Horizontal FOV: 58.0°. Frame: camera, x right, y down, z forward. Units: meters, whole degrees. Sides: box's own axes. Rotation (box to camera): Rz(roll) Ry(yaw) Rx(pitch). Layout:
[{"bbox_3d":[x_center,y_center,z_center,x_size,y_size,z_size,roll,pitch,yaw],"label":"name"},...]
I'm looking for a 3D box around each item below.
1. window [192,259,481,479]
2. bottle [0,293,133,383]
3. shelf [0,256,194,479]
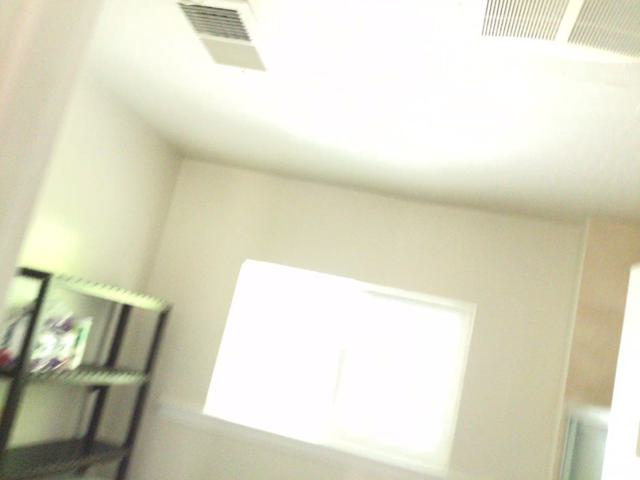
[{"bbox_3d":[0.070,0.480,2.150,0.920,0.640,0.230,9,-13,12],"label":"window"},{"bbox_3d":[-0.740,0.290,1.650,0.180,0.190,0.420,9,-13,12],"label":"bottle"},{"bbox_3d":[-0.870,1.010,1.700,0.260,1.780,0.860,9,-13,12],"label":"shelf"}]
